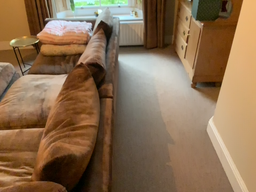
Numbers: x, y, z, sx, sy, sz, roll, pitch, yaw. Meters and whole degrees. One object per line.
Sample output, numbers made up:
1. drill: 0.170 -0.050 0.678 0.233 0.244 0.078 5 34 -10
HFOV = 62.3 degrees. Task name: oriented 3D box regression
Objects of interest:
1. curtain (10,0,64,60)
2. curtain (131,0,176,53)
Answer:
1. curtain: -1.440 -1.610 3.070 0.540 2.260 0.270 -2 36 -1
2. curtain: 0.380 -1.770 3.120 0.680 2.310 0.250 -1 36 0
